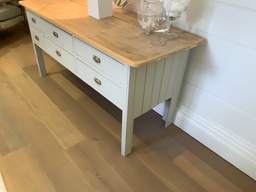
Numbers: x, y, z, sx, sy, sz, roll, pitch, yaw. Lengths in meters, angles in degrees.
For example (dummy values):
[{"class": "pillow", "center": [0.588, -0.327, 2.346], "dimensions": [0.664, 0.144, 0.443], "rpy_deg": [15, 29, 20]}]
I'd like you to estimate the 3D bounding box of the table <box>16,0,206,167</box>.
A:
[{"class": "table", "center": [-0.290, -0.320, 1.860], "dimensions": [0.660, 0.780, 1.570], "rpy_deg": [-24, 45, -35]}]
